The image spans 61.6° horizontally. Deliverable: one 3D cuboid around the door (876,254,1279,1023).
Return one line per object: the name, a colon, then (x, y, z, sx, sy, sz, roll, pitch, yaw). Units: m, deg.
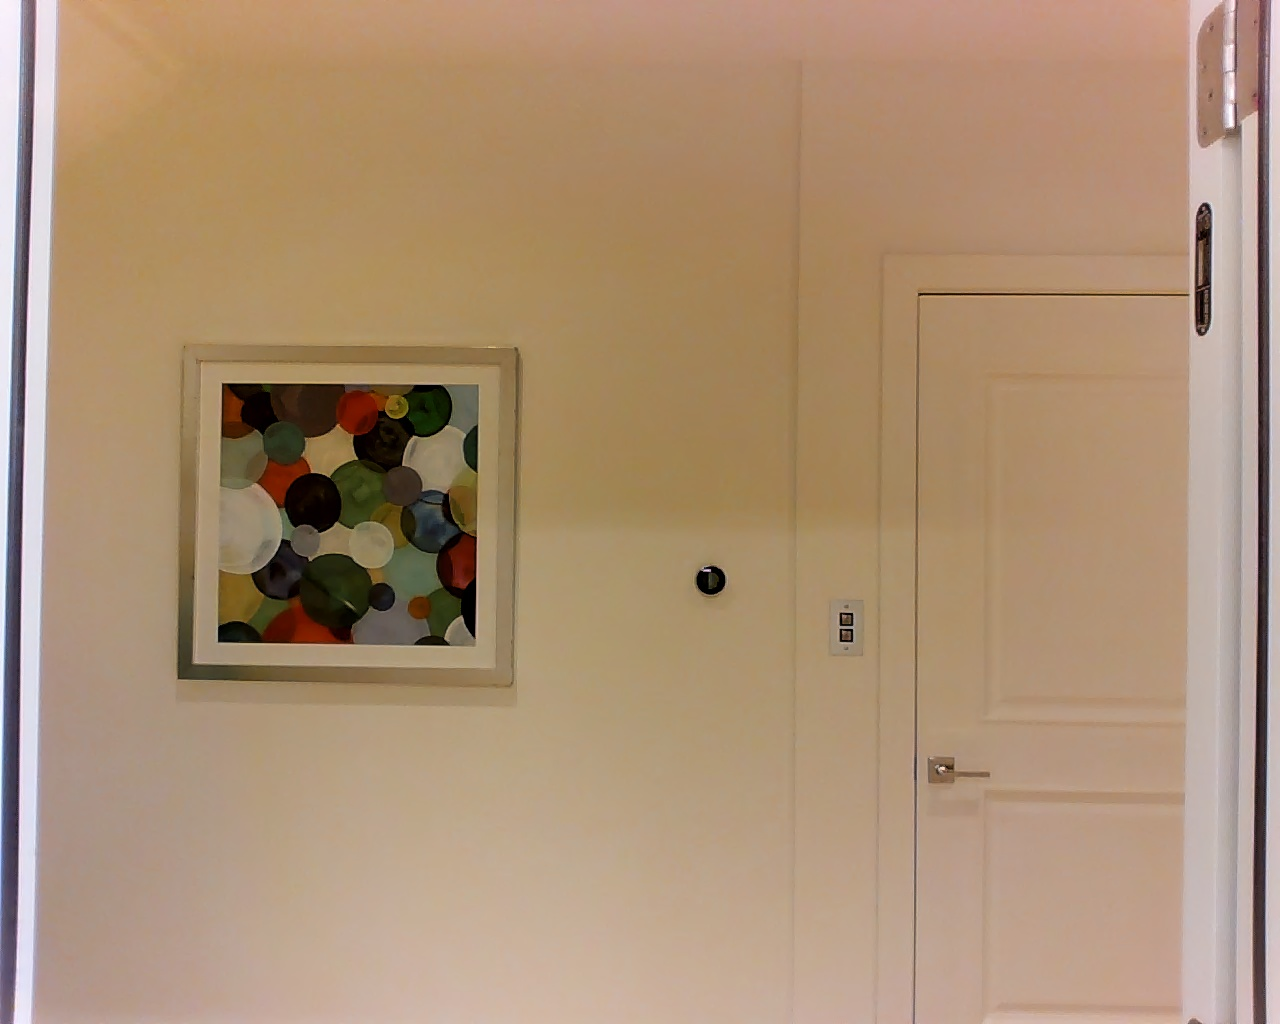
door: (1.170, 0.460, 2.730, 1.100, 2.220, 0.060, 1, -1, 3)
